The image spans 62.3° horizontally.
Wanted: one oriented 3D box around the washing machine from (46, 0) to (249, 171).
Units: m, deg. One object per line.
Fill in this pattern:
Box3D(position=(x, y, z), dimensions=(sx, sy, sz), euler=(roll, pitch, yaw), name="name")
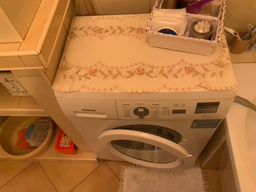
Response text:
Box3D(position=(0.090, 0.030, 1.130), dimensions=(0.610, 0.850, 0.500), euler=(1, 59, 5), name="washing machine")
